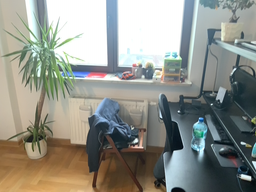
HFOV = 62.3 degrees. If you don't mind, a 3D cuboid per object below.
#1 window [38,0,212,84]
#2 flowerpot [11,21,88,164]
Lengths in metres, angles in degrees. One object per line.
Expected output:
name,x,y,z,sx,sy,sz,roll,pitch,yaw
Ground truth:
window,-0.060,-1.100,2.320,1.850,1.830,0.250,4,21,7
flowerpot,-0.870,-0.070,2.430,0.610,1.470,0.540,-9,23,-26
